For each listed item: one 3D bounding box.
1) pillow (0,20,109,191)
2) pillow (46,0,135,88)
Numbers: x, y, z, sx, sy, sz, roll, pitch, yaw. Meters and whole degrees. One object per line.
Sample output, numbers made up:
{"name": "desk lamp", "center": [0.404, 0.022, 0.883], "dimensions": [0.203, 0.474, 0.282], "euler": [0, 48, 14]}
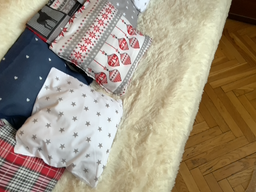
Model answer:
{"name": "pillow", "center": [-0.260, 0.050, 0.870], "dimensions": [0.170, 0.550, 0.410], "euler": [5, -10, 14]}
{"name": "pillow", "center": [-0.140, -0.330, 1.020], "dimensions": [0.200, 0.530, 0.430], "euler": [7, -1, 14]}
